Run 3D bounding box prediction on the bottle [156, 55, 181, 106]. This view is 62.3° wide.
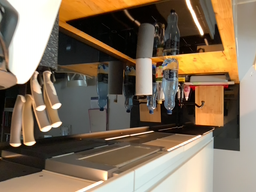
[{"bbox_3d":[0.260,-0.090,1.350,0.110,0.300,0.140,0,176,28],"label":"bottle"}]
